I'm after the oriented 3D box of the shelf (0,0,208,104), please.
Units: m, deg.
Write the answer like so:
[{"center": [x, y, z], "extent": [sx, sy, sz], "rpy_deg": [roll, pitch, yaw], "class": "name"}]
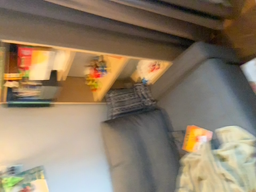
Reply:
[{"center": [-0.250, -0.210, 1.520], "extent": [0.610, 1.700, 0.250], "rpy_deg": [-47, 52, 47], "class": "shelf"}]
